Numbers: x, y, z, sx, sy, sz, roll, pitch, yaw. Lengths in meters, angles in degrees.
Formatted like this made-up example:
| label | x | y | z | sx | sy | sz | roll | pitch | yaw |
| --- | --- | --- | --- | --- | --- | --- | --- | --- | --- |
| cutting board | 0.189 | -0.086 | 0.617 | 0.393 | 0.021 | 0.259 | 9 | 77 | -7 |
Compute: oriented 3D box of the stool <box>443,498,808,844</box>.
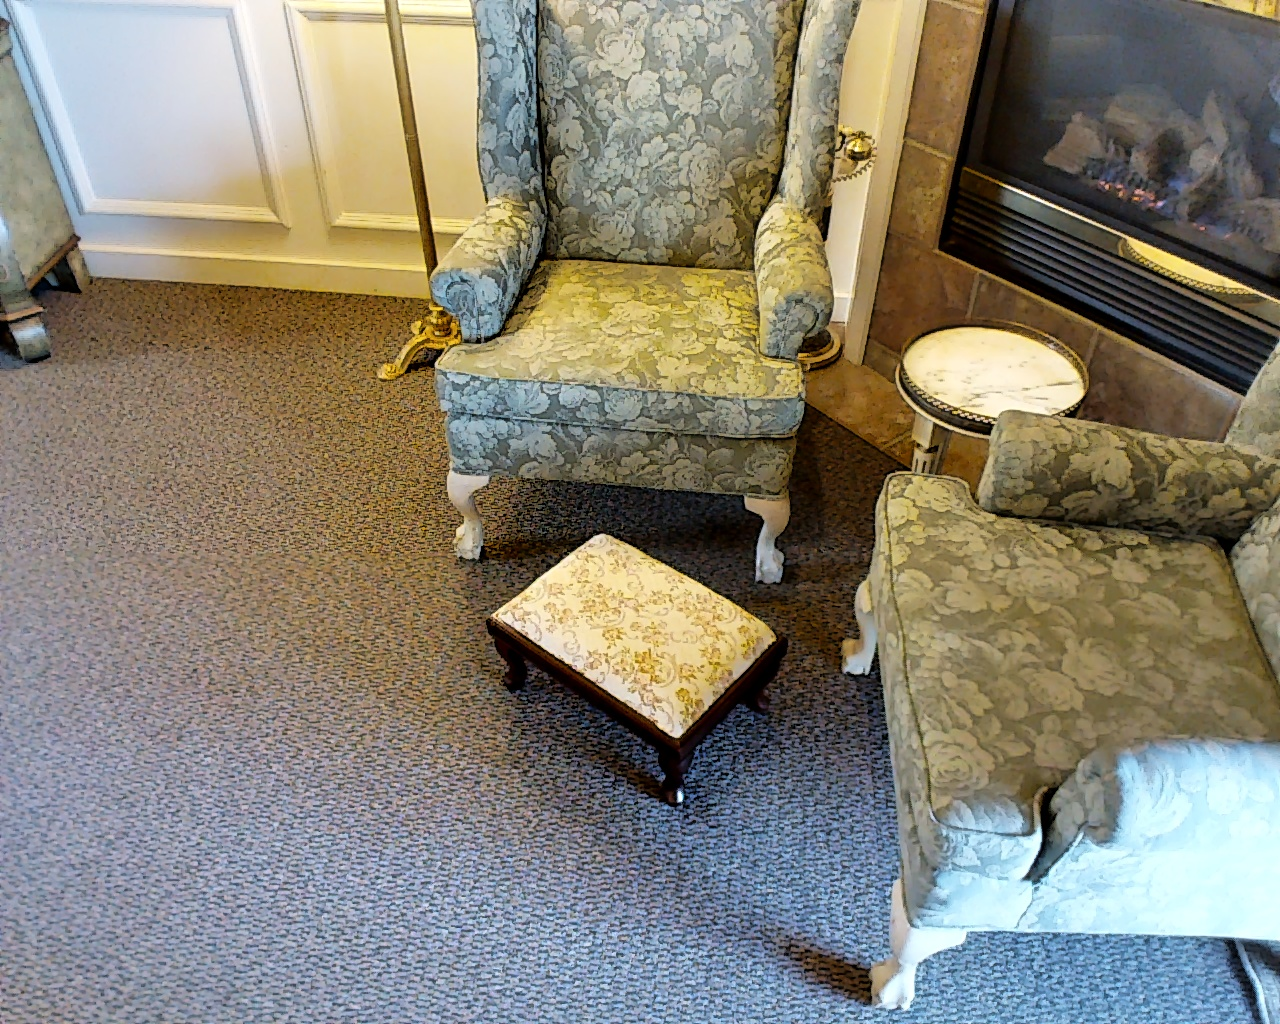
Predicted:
| label | x | y | z | sx | sy | sz | roll | pitch | yaw |
| --- | --- | --- | --- | --- | --- | --- | --- | --- | --- |
| stool | -0.030 | 0.260 | 1.930 | 0.510 | 0.230 | 0.370 | 29 | 47 | 28 |

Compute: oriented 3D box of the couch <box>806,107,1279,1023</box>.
| label | x | y | z | sx | sy | sz | roll | pitch | yaw |
| --- | --- | --- | --- | --- | --- | --- | --- | --- | --- |
| couch | 0.790 | 0.130 | 1.480 | 0.950 | 1.010 | 0.850 | 4 | 41 | 2 |

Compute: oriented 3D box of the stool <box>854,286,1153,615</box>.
| label | x | y | z | sx | sy | sz | roll | pitch | yaw |
| --- | --- | --- | --- | --- | --- | --- | --- | --- | --- |
| stool | 0.690 | -0.130 | 2.180 | 0.440 | 0.450 | 0.430 | 7 | 41 | 5 |

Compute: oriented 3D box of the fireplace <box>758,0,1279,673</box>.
| label | x | y | z | sx | sy | sz | roll | pitch | yaw |
| --- | --- | --- | --- | --- | --- | --- | --- | --- | --- |
| fireplace | 0.950 | -0.810 | 1.930 | 0.410 | 1.780 | 1.450 | -27 | 48 | -29 |

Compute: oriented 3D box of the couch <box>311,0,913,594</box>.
| label | x | y | z | sx | sy | sz | roll | pitch | yaw |
| --- | --- | --- | --- | --- | --- | --- | --- | --- | --- |
| couch | -0.010 | -0.550 | 2.210 | 0.870 | 1.020 | 0.890 | 6 | 41 | 4 |
